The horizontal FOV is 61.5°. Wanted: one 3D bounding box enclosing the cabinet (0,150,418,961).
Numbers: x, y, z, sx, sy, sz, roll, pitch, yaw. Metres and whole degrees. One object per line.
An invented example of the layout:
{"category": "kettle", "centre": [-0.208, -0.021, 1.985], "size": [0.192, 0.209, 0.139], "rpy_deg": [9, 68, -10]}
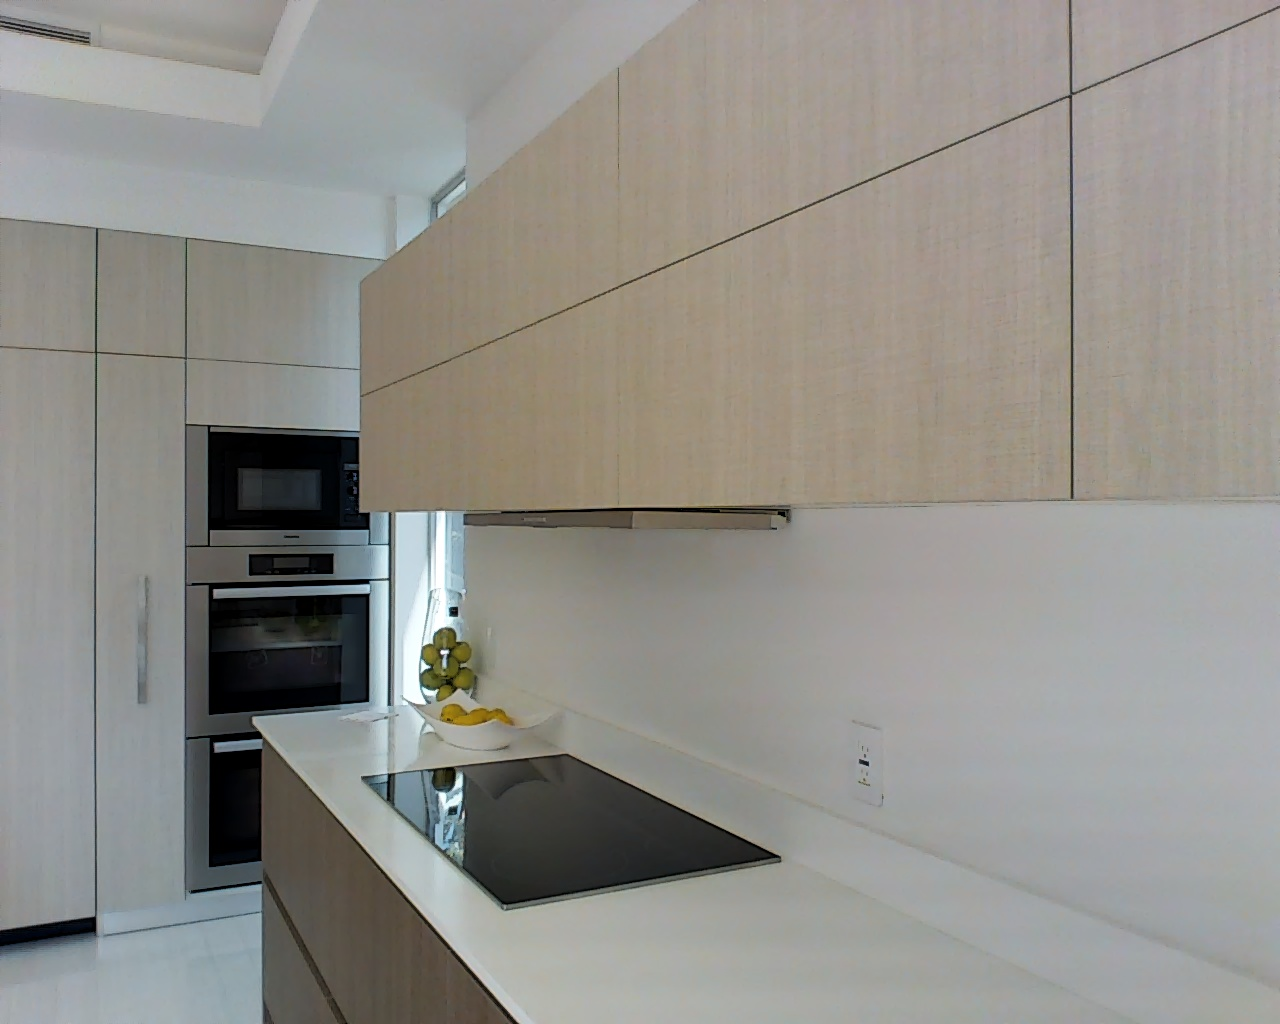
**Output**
{"category": "cabinet", "centre": [-2.629, 0.150, 3.580], "size": [3.819, 2.811, 0.130], "rpy_deg": [0, 0, -28]}
